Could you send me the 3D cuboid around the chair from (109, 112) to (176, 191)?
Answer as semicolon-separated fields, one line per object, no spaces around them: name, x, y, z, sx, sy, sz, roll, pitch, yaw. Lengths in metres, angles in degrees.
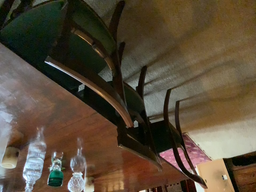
chair;0.140;0.730;2.340;0.480;0.870;0.500;-27;136;25

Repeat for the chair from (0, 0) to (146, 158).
chair;-0.310;-0.260;1.050;0.520;0.880;0.490;-25;137;23
